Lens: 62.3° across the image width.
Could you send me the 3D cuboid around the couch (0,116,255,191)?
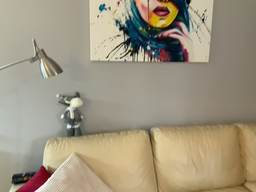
[{"bbox_3d":[0.590,0.740,1.510,2.800,0.900,0.940,-1,11,-15],"label":"couch"}]
